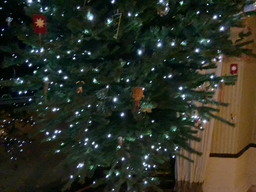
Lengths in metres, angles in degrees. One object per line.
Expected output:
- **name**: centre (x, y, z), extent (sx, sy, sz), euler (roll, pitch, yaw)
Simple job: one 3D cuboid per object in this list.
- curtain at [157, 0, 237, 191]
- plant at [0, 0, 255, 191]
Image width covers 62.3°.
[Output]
- **curtain**: centre (0.870, -0.160, 2.760), extent (0.800, 3.380, 0.340), euler (-1, -172, -14)
- **plant**: centre (0.060, -0.280, 1.590), extent (1.390, 3.150, 1.620), euler (7, -171, 39)
